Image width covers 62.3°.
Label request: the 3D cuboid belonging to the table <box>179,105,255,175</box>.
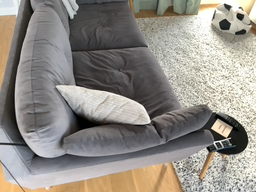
[{"bbox_3d":[0.570,0.300,1.440,0.270,0.370,0.270,-8,48,-13],"label":"table"}]

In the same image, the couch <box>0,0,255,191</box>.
[{"bbox_3d":[-0.250,-0.390,1.710,1.020,0.800,2.110,-8,48,-13],"label":"couch"}]
